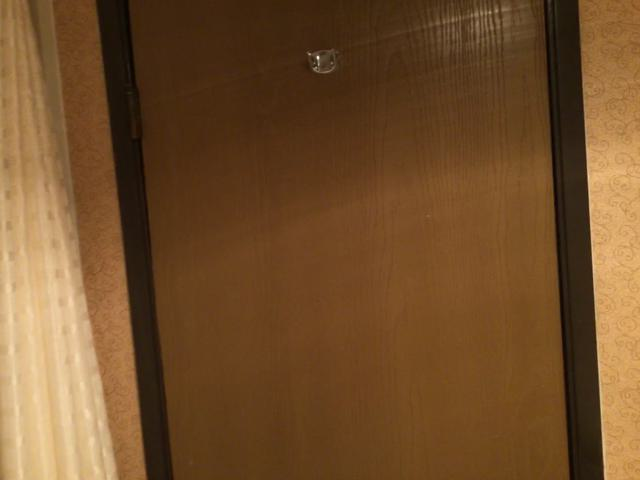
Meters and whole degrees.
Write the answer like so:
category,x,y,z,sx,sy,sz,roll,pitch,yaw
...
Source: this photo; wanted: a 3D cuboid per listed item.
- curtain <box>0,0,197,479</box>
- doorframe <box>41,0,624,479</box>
category,x,y,z,sx,sy,sz,roll,pitch,yaw
curtain,-0.360,0.440,0.940,0.240,1.980,0.240,-4,3,10
doorframe,0.030,0.420,0.980,0.890,2.000,0.050,-4,3,10
